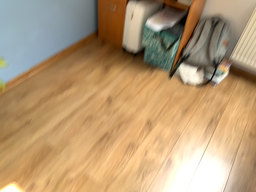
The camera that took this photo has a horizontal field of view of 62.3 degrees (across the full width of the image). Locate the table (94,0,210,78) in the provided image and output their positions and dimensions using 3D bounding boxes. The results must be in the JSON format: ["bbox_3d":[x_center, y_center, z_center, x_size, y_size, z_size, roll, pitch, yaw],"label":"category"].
[{"bbox_3d":[0.190,-0.810,2.130,0.980,0.790,0.480,30,50,20],"label":"table"}]
